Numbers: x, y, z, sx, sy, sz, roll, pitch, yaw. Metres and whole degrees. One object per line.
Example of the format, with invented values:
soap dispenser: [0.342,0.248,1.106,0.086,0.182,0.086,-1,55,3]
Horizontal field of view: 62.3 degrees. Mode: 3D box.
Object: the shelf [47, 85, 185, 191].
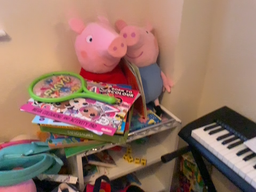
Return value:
shelf: [-0.070,0.400,1.190,0.560,0.750,0.360,-14,32,-26]
